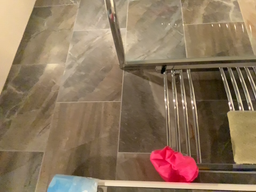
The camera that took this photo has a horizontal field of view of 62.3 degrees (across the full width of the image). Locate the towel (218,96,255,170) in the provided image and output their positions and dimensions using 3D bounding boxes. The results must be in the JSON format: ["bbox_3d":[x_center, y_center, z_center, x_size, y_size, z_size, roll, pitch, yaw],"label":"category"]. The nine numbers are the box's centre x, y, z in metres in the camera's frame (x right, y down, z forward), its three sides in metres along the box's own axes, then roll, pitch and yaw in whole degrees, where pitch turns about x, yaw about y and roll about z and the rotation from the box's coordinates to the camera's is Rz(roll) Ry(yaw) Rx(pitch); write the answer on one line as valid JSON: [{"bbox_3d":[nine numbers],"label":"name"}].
[{"bbox_3d":[0.710,0.170,0.970,0.160,0.490,0.310,75,-165,-63],"label":"towel"}]
